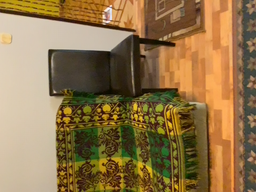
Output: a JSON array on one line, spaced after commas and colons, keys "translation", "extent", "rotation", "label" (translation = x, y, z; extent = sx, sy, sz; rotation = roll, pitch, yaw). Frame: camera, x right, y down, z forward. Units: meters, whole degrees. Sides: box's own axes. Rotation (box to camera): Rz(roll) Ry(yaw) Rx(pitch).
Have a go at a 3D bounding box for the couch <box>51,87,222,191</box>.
[{"translation": [-0.020, 0.950, 1.690], "extent": [1.080, 0.910, 1.990], "rotation": [0, 90, 60], "label": "couch"}]
